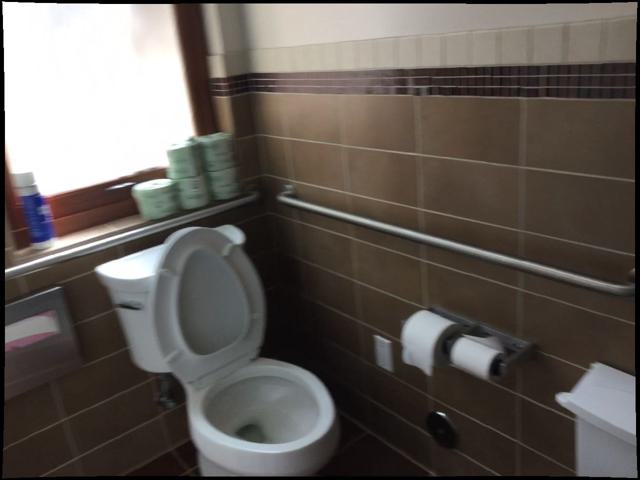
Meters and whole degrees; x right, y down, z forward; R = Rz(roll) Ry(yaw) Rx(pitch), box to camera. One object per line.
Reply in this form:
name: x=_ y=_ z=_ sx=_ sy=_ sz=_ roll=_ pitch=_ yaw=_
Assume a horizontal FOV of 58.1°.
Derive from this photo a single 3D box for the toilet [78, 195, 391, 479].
toilet: x=-0.269 y=0.411 z=1.780 sx=0.479 sy=0.892 sz=0.839 roll=-21 pitch=24 yaw=-33
